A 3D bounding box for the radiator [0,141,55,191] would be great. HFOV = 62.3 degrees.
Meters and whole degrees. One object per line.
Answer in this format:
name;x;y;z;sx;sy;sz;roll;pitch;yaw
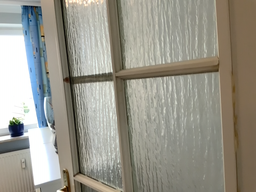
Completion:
radiator;-1.360;1.020;2.790;0.670;0.700;0.160;-7;6;-27
